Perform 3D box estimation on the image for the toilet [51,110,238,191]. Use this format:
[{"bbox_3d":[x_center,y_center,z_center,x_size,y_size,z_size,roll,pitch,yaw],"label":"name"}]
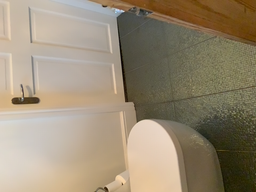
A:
[{"bbox_3d":[0.130,0.430,1.060,0.400,0.850,0.640,-13,81,51],"label":"toilet"}]
